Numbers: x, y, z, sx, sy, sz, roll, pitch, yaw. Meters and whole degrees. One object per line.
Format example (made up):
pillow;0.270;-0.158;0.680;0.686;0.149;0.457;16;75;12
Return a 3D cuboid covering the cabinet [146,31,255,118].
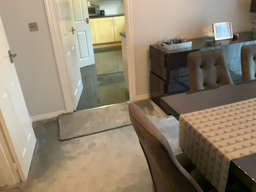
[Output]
cabinet;1.170;-0.360;2.940;1.720;0.810;0.610;-10;27;-14

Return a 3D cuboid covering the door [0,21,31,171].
door;-1.070;-0.320;1.810;0.030;1.880;0.730;-13;27;-20

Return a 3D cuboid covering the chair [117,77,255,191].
chair;0.330;0.470;1.130;0.580;0.950;0.480;-12;27;-19
